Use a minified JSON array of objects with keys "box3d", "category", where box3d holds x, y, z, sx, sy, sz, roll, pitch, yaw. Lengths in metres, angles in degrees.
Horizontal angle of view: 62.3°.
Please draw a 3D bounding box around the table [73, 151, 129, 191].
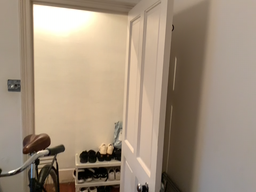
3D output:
[{"box3d":[-0.350,0.960,2.680,0.650,0.400,0.310,1,9,-16],"category":"table"}]
